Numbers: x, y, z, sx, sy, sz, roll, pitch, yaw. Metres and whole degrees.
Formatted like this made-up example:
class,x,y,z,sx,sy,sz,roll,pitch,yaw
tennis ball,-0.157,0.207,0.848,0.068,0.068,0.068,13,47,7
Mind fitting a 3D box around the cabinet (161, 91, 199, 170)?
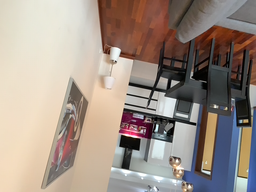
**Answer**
class,x,y,z,sx,sy,sz,roll,pitch,yaw
cabinet,1.520,0.990,6.220,0.600,2.110,0.640,12,169,-3
